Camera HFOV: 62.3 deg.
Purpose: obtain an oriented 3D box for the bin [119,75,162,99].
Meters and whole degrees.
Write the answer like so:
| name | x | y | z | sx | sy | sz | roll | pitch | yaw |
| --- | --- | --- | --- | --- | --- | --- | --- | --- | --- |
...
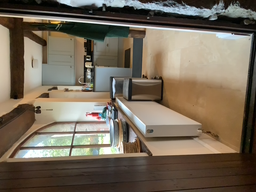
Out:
| name | x | y | z | sx | sy | sz | roll | pitch | yaw |
| --- | --- | --- | --- | --- | --- | --- | --- | --- | --- |
| bin | 0.170 | -0.120 | 3.150 | 0.510 | 0.510 | 0.320 | -177 | 89 | -78 |
